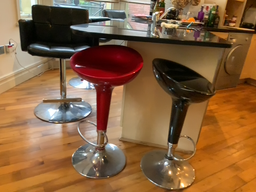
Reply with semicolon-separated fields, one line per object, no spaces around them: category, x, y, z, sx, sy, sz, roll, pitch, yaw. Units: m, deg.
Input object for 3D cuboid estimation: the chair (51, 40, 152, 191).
chair;-0.150;0.090;1.320;0.390;0.760;0.450;13;24;17
